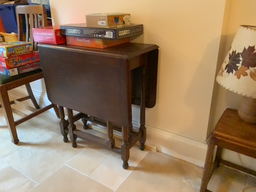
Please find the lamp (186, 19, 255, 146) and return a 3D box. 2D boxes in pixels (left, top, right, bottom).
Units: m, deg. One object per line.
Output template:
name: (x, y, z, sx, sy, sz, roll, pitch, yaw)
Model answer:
lamp: (0.510, -0.080, 0.970, 0.360, 0.480, 0.270, 14, 28, 28)
